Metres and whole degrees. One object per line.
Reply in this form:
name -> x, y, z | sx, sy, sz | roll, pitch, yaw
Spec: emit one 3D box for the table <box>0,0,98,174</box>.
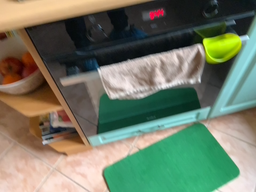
table -> -0.430, -0.110, 0.940 | 0.340, 0.870, 0.590 | -14, 55, -4
